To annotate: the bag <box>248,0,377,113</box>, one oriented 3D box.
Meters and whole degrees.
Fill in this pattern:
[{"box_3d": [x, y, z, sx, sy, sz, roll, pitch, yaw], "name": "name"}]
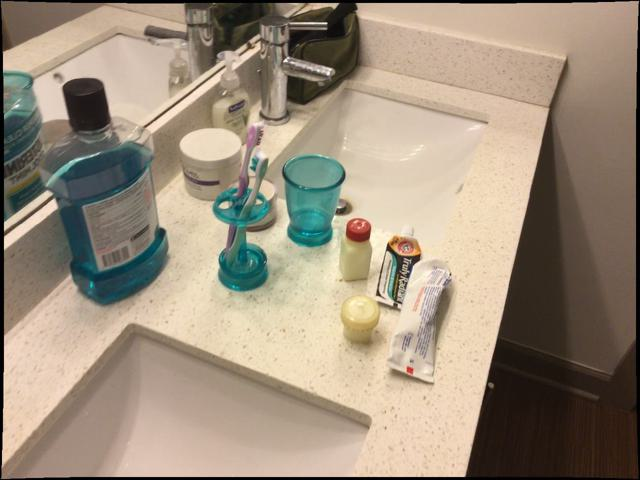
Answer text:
[{"box_3d": [-0.010, -0.411, 1.190, 0.160, 0.150, 0.270, 19, 45, 15], "name": "bag"}]
